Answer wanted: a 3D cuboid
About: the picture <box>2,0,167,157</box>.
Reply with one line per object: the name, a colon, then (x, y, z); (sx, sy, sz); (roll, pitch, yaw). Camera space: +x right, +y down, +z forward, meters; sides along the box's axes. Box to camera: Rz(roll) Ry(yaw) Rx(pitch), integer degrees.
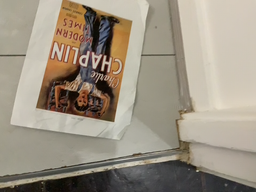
picture: (-0.060, -0.070, 0.400); (0.250, 0.040, 0.340); (9, 82, -17)
